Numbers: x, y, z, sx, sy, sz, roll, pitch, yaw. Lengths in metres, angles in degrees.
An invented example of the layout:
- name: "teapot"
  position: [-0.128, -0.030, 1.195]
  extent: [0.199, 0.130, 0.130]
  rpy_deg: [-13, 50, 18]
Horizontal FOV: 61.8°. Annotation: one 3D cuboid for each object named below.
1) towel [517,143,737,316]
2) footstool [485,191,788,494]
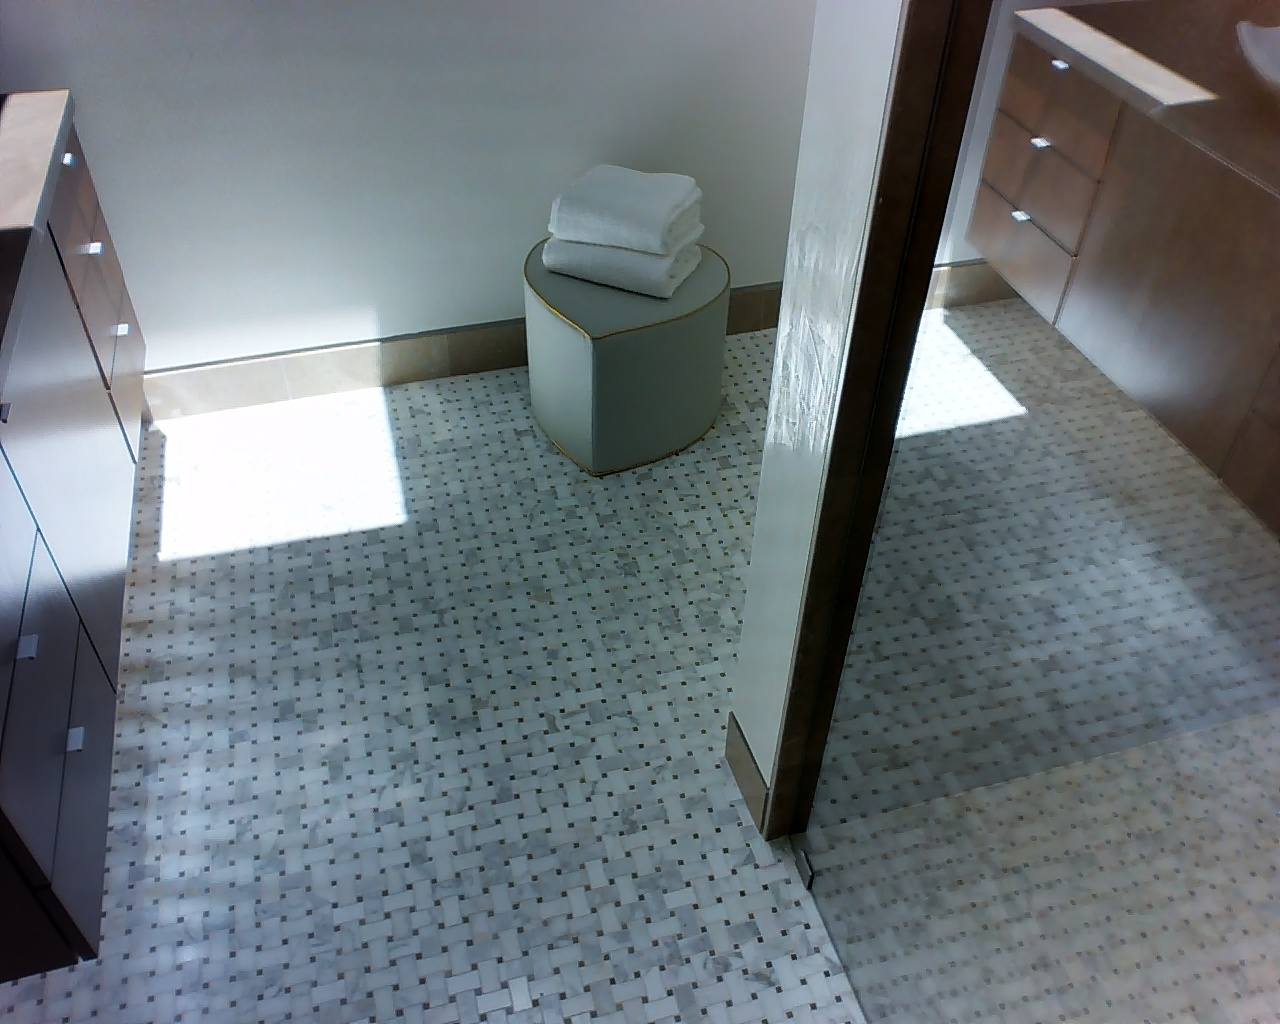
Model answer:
- name: "towel"
  position: [-0.030, -0.680, 2.540]
  extent: [0.420, 0.210, 0.290]
  rpy_deg: [22, 45, 22]
- name: "footstool"
  position: [-0.020, -0.450, 2.720]
  extent: [0.500, 0.430, 0.560]
  rpy_deg: [-24, 47, -26]
